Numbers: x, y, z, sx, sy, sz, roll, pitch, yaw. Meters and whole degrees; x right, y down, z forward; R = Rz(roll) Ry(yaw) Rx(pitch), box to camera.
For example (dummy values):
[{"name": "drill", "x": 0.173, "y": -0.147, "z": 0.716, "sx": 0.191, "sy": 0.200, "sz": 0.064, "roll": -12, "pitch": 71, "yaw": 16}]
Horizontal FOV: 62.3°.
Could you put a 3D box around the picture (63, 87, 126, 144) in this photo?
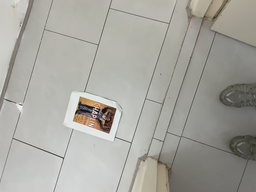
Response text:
[{"name": "picture", "x": -0.180, "y": 0.100, "z": 1.120, "sx": 0.290, "sy": 0.030, "sz": 0.230, "roll": 13, "pitch": 92, "yaw": 8}]
